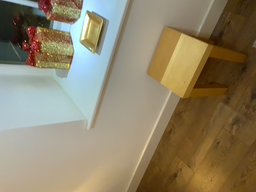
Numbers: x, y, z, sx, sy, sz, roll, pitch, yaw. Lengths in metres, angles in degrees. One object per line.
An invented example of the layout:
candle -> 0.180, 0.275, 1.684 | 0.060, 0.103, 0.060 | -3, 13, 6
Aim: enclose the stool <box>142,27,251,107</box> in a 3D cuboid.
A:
stool -> 0.390, -0.160, 1.210 | 0.320, 0.450, 0.290 | 40, 120, 40
